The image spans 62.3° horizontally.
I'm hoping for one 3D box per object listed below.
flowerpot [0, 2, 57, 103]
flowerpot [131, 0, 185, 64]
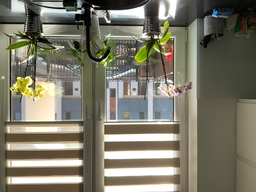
[{"bbox_3d":[-0.670,-0.270,1.450,0.280,0.620,0.280,0,-179,-2],"label":"flowerpot"},{"bbox_3d":[0.210,-0.470,1.630,0.340,0.400,0.360,0,-179,-4],"label":"flowerpot"}]
